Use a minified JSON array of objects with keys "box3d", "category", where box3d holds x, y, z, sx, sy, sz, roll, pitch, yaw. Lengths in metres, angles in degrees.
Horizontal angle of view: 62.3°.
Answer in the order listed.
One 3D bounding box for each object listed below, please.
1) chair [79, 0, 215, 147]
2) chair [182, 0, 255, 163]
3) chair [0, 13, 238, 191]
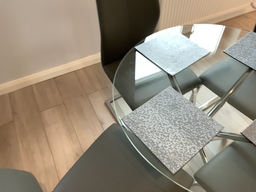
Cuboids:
[{"box3d":[0.070,-0.220,1.280,0.430,1.010,0.490,-27,55,-20],"category":"chair"},{"box3d":[0.750,-0.160,1.210,0.550,1.020,0.440,-34,57,-24],"category":"chair"},{"box3d":[-0.120,0.330,0.830,0.560,1.010,0.440,-31,56,-23],"category":"chair"}]
